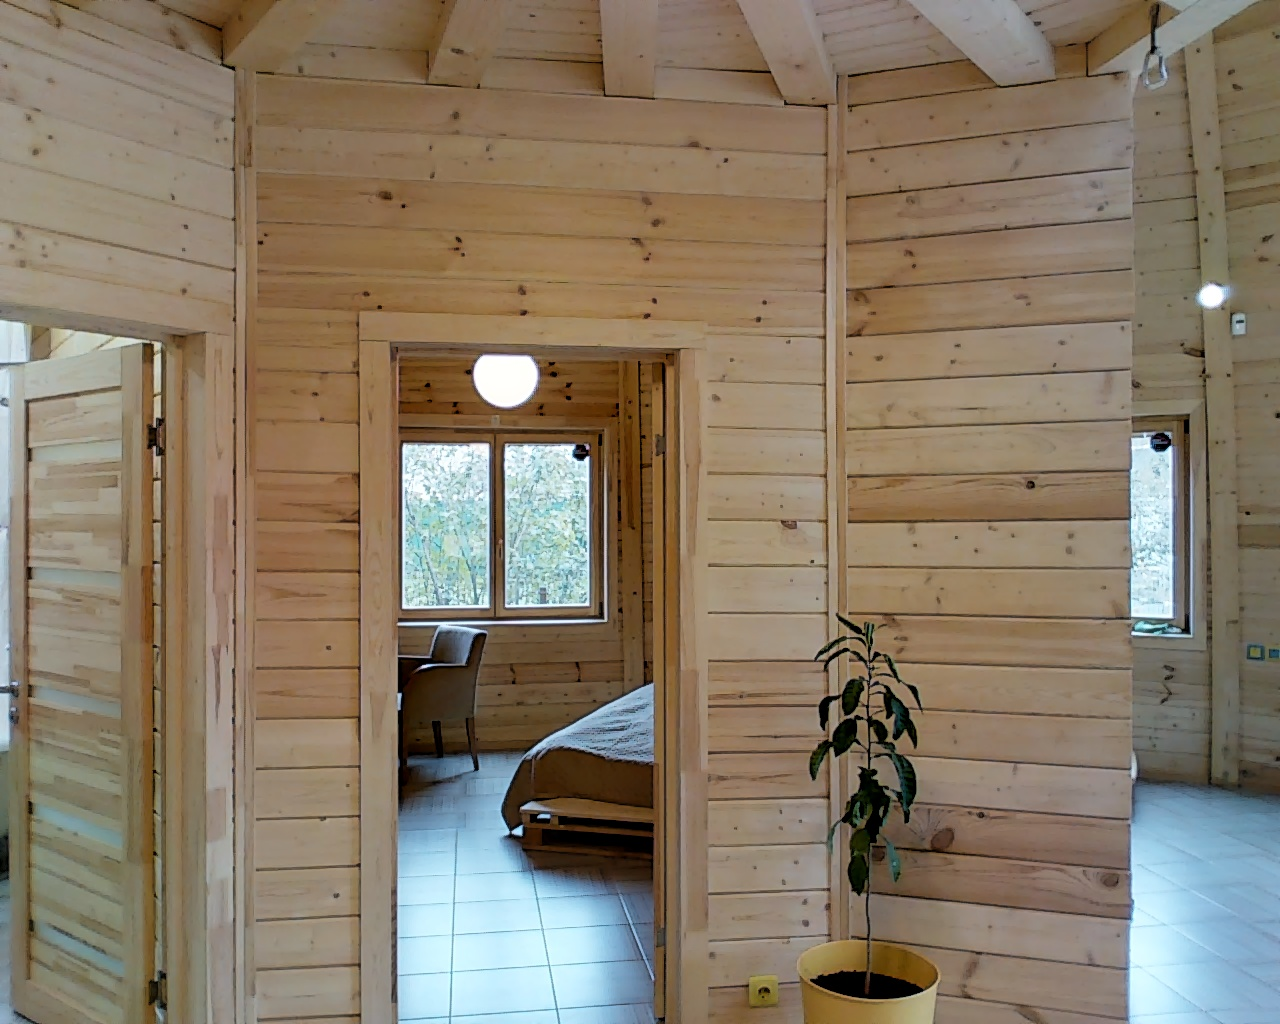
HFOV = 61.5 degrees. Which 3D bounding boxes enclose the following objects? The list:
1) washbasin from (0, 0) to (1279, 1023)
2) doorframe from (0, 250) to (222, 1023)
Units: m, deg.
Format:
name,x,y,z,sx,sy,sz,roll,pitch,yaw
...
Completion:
name,x,y,z,sx,sy,sz,roll,pitch,yaw
washbasin,1.879,-0.090,1.740,7.917,3.281,4.760,0,-1,-4
doorframe,-1.440,0.490,2.530,0.240,2.131,0.840,0,-1,36
